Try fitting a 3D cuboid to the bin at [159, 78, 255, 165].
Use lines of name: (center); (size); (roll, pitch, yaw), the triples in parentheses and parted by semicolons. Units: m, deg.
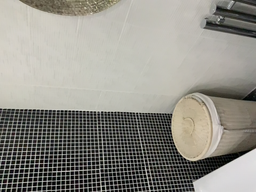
bin: (0.640, 0.200, 1.510); (0.470, 0.620, 0.390); (116, 150, -48)
